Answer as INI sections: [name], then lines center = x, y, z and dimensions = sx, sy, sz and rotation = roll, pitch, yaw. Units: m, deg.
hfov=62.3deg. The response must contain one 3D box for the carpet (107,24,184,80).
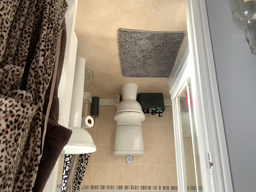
[carpet]
center = 0.150, -0.360, 2.000
dimensions = 0.570, 0.030, 0.910
rotation = -1, 160, 3

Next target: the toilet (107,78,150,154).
[toilet]
center = 0.010, 0.280, 2.610
dimensions = 0.440, 0.790, 0.660
rotation = 0, 160, 1
